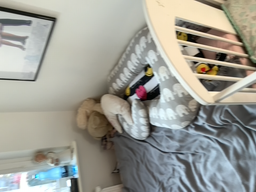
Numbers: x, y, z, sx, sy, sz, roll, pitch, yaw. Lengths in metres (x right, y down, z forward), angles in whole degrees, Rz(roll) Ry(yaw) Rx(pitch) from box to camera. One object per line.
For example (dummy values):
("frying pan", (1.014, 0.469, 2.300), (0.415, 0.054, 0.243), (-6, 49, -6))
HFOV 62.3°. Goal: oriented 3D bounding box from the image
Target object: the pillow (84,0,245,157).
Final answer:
("pillow", (0.070, -0.050, 1.430), (1.140, 0.280, 0.590), (-44, 53, 48))
